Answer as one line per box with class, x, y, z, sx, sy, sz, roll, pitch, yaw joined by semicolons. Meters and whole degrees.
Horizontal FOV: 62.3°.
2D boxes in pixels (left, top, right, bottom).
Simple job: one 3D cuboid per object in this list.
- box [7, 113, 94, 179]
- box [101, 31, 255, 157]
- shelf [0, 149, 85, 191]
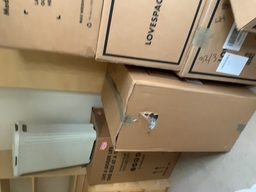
box;-0.630;0.400;1.760;0.330;0.590;0.380;-117;37;-53
box;0.290;-0.010;1.320;0.540;0.760;0.480;-114;34;-50
shelf;-1.030;0.930;2.040;0.310;1.070;0.830;-115;35;-51
